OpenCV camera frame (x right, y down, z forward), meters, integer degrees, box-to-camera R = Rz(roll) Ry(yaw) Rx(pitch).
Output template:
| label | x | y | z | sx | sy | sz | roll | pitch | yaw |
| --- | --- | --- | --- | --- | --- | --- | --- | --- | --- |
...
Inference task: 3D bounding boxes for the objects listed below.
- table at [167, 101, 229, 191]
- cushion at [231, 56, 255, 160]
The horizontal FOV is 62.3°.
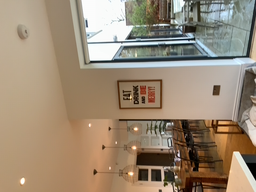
| label | x | y | z | sx | sy | sz | roll | pitch | yaw |
| --- | --- | --- | --- | --- | --- | --- | --- | --- | --- |
| table | 1.550 | 1.250 | 5.410 | 3.090 | 0.800 | 1.020 | -78 | -14 | -65 |
| cushion | 1.520 | 0.110 | 2.470 | 0.800 | 0.200 | 0.990 | -76 | -15 | -67 |
